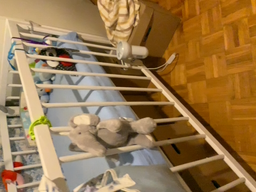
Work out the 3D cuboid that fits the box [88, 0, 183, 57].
[{"bbox_3d":[0.030,-0.460,1.240,0.280,0.370,0.330,-58,47,36],"label":"box"}]
